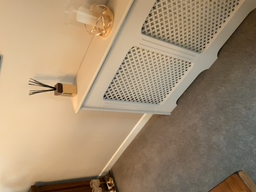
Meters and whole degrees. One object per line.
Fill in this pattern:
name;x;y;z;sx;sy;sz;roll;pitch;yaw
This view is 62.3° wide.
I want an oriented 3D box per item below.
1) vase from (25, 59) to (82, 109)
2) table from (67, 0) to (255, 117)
vase;-0.530;-0.070;1.490;0.310;0.290;0.130;-59;42;30
table;0.260;-0.340;1.390;1.230;0.940;0.120;-58;43;31
